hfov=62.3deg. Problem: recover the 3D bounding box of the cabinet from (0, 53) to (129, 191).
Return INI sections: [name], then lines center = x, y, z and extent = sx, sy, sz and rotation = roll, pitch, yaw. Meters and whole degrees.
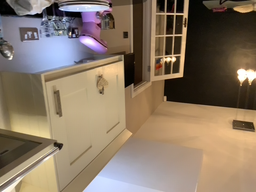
[cabinet]
center = -0.380, 0.160, 1.750
extent = 0.350, 0.900, 1.110
rotation = 6, -161, 22
